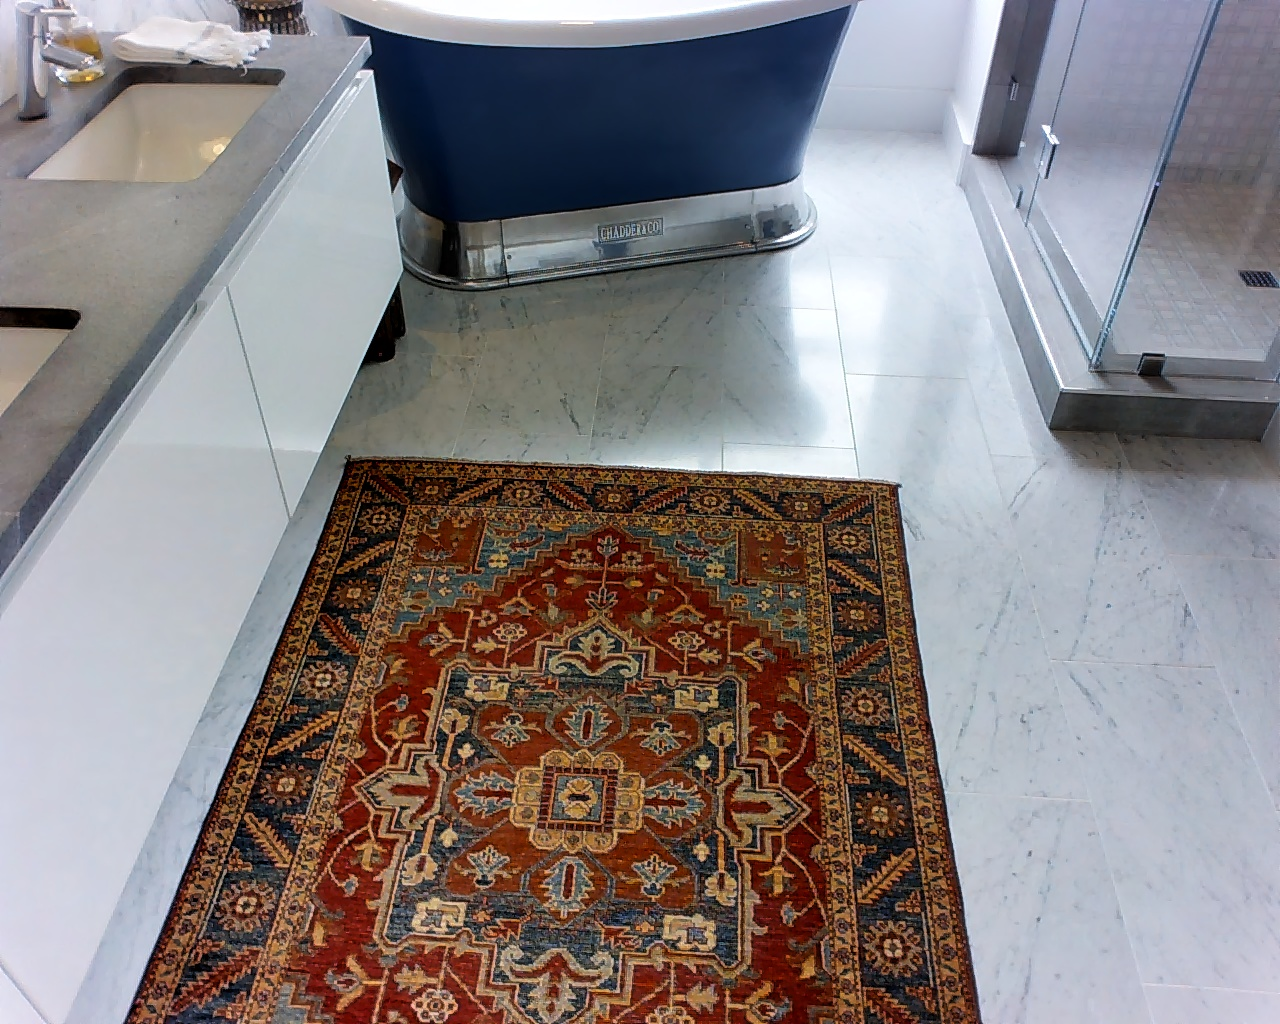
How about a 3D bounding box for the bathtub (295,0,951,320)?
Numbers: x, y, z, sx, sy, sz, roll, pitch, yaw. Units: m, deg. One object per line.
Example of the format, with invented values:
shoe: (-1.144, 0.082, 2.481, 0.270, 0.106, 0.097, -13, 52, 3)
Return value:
bathtub: (-0.080, -1.190, 3.030, 1.610, 0.810, 0.730, -10, 42, -12)
